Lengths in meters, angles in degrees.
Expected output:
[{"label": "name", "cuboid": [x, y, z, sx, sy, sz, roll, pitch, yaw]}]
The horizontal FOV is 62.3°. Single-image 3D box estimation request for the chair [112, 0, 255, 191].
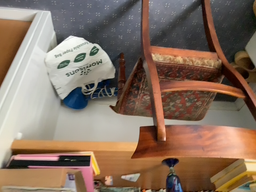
[{"label": "chair", "cuboid": [0.220, -0.050, 1.030, 0.490, 0.840, 0.500, 8, 140, -13]}]
